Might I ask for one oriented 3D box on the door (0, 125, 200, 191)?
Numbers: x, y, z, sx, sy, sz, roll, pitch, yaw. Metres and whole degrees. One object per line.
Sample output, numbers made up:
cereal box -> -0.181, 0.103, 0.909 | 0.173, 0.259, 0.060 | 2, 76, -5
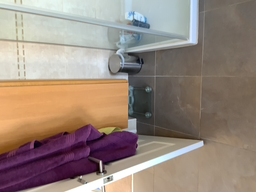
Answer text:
door -> -0.440, 0.410, 1.250 | 0.750, 1.920, 0.100 | 0, 94, 50
